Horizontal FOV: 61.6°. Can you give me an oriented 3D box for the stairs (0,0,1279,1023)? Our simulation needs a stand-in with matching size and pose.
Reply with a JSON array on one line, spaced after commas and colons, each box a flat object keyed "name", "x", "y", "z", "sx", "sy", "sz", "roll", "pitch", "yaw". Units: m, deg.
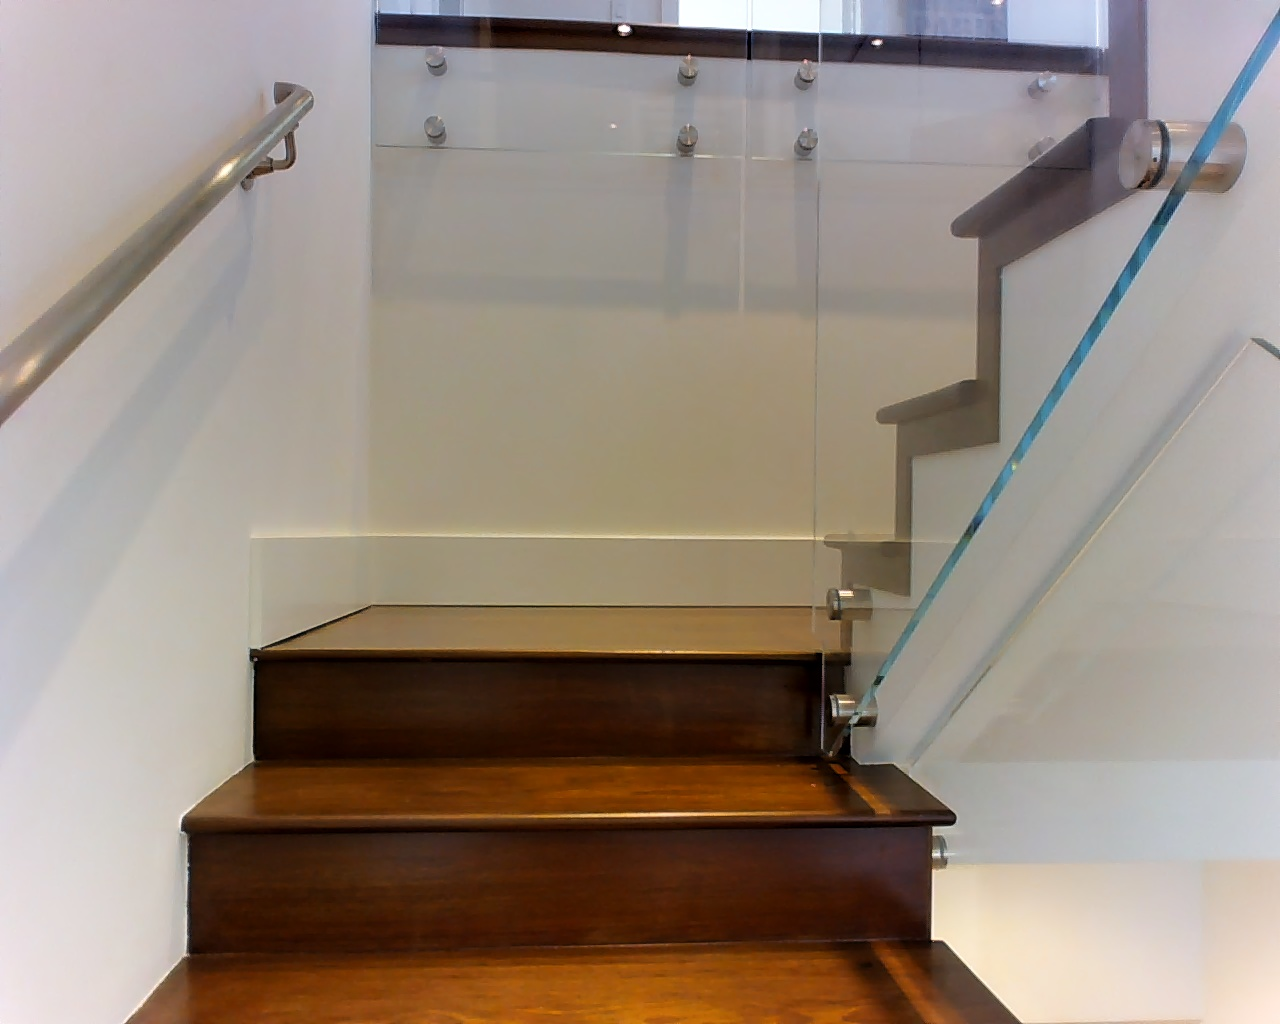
[{"name": "stairs", "x": 0.430, "y": 0.360, "z": 1.230, "sx": 2.040, "sy": 3.050, "sz": 3.140, "roll": 1, "pitch": -1, "yaw": -4}]
